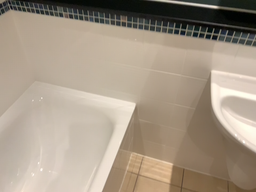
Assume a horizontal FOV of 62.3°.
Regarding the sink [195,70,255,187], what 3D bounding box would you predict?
[{"bbox_3d":[0.580,0.140,0.830,0.550,0.180,0.410,13,44,12],"label":"sink"}]
